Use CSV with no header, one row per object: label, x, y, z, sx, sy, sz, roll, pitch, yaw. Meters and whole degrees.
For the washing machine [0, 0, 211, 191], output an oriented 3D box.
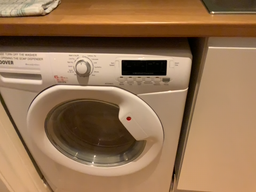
washing machine,-0.100,0.010,1.020,0.640,0.930,0.650,2,39,5
